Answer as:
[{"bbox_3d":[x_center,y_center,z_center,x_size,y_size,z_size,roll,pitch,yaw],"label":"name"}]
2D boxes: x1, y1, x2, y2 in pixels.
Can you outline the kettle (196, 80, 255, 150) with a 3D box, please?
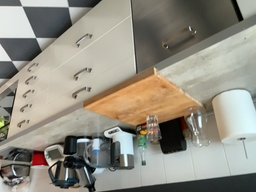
[{"bbox_3d":[0.560,0.120,1.130,0.230,0.260,0.280,-24,148,35],"label":"kettle"}]
